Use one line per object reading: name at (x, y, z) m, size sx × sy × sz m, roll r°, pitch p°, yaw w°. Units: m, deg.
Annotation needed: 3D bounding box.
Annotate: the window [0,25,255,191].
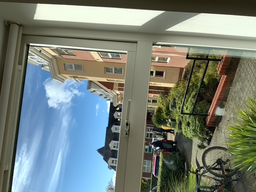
window at (0.040, 0.160, 0.980) m, size 0.110 × 1.220 × 0.870 m, roll 43°, pitch -128°, yaw -85°
